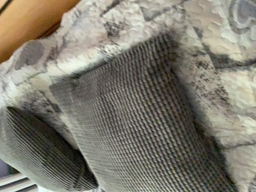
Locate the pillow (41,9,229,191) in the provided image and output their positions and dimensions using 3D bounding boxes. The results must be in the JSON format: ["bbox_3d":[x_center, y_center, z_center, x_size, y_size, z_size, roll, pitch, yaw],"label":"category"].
[{"bbox_3d":[-0.010,0.120,0.660,0.520,0.540,0.210,-13,157,38],"label":"pillow"}]
